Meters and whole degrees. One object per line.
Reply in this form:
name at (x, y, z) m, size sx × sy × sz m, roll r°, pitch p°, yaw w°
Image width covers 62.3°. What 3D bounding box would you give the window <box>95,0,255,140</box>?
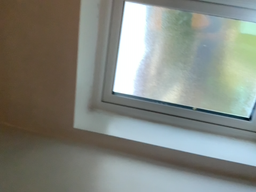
window at (0.290, -0.120, 1.010) m, size 0.070 × 0.850 × 0.530 m, roll -67°, pitch -13°, yaw -69°
